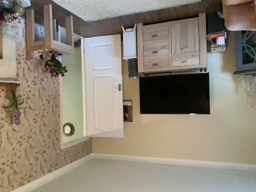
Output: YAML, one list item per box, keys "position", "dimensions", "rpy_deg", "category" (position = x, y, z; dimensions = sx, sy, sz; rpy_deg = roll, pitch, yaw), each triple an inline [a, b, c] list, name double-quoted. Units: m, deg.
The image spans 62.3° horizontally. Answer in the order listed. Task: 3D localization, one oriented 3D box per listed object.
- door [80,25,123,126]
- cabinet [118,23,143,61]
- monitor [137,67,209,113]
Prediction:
- position: [-0.510, -0.370, 4.080]
  dimensions: [0.790, 1.880, 0.080]
  rpy_deg: [-2, 180, 15]
  category: "door"
- position: [0.050, -0.930, 3.740]
  dimensions: [0.310, 0.540, 0.420]
  rpy_deg: [-2, 180, 19]
  category: "cabinet"
- position: [0.700, -0.070, 3.440]
  dimensions: [1.110, 0.690, 0.050]
  rpy_deg: [-2, 180, 21]
  category: "monitor"
